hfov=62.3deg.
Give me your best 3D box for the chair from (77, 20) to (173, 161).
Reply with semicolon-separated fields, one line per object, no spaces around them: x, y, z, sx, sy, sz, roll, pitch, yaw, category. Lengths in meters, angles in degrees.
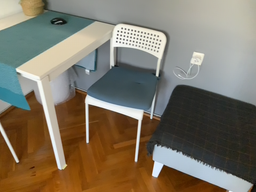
-0.010;-0.040;1.490;0.420;0.770;0.490;16;39;14;chair
